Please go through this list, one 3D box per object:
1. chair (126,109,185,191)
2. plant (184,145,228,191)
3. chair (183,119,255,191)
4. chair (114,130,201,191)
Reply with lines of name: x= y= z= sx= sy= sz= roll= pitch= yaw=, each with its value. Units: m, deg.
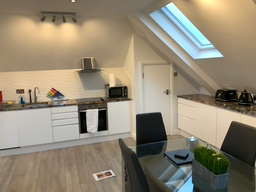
chair: x=0.290 y=0.730 z=2.380 sx=0.460 sy=1.050 sz=0.530 roll=-5 pitch=9 yaw=-17
plant: x=0.570 y=0.530 z=1.580 sx=0.170 sy=0.220 sz=0.270 roll=-4 pitch=9 yaw=-18
chair: x=0.880 y=0.790 z=2.030 sx=0.520 sy=1.010 sz=0.450 roll=-4 pitch=10 yaw=-18
chair: x=0.220 y=0.860 z=1.770 sx=0.550 sy=0.990 sz=0.460 roll=-4 pitch=9 yaw=-17
